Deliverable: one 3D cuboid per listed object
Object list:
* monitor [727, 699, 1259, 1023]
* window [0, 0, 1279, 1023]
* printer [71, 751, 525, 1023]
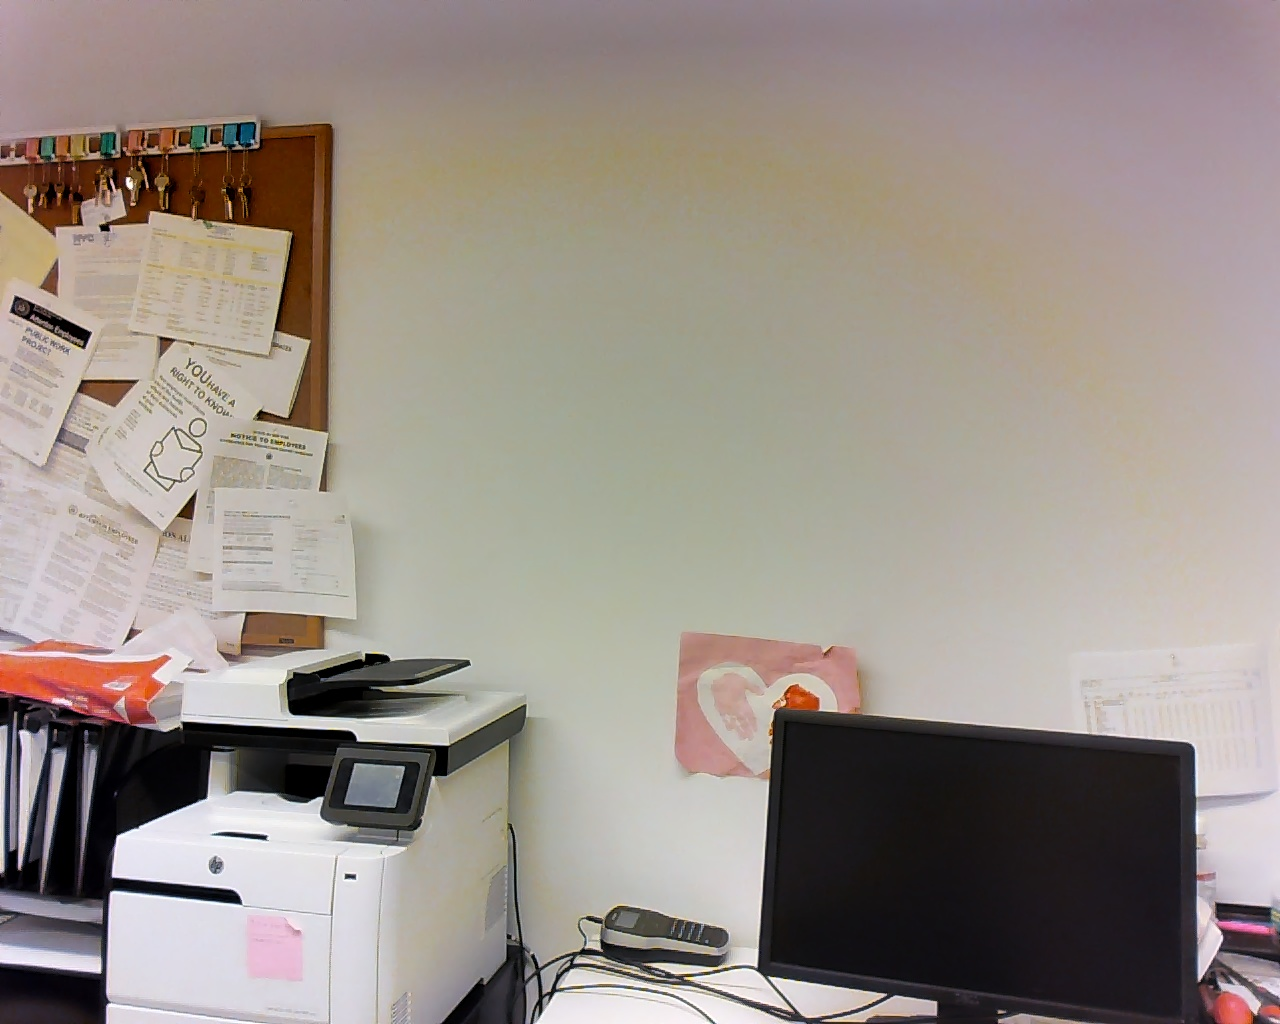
[{"bbox_3d":[0.420,0.490,1.360,0.590,0.440,0.220,1,0,12],"label":"monitor"},{"bbox_3d":[-0.340,-0.440,1.710,2.939,2.170,0.230,1,0,10],"label":"window"},{"bbox_3d":[-0.460,0.580,1.580,0.440,0.320,0.520,1,0,11],"label":"printer"}]
